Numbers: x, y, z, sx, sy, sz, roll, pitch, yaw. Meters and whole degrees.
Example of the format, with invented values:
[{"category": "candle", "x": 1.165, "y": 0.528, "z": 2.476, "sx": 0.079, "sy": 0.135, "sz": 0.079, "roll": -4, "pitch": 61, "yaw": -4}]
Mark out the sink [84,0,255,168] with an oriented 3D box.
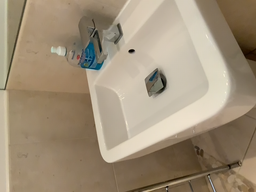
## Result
[{"category": "sink", "x": 0.060, "y": -0.040, "z": 0.680, "sx": 0.530, "sy": 0.140, "sz": 0.410, "roll": -39, "pitch": 58, "yaw": 46}]
